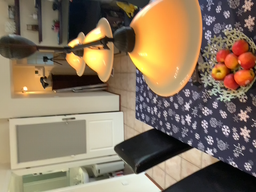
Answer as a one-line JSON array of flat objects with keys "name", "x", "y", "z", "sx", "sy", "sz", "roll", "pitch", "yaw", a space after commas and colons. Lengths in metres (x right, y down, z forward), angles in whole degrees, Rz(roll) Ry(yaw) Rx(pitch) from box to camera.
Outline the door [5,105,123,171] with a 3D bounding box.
[{"name": "door", "x": -1.060, "y": 0.700, "z": 3.890, "sx": 0.170, "sy": 2.030, "sz": 0.950, "roll": -169, "pitch": 78, "yaw": -65}]

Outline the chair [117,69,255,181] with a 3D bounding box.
[{"name": "chair", "x": 0.520, "y": 0.150, "z": 1.650, "sx": 0.430, "sy": 1.090, "sz": 0.640, "roll": -149, "pitch": 61, "yaw": -62}]

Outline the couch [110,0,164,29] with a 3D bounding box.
[{"name": "couch", "x": 0.110, "y": -1.340, "z": 3.050, "sx": 0.620, "sy": 0.550, "sz": 0.620, "roll": -155, "pitch": 66, "yaw": -63}]
